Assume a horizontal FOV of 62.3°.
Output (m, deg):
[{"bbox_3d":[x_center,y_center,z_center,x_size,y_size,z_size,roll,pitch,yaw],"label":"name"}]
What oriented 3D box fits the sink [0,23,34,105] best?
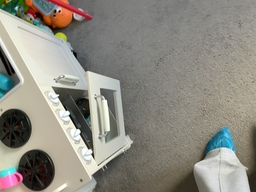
[{"bbox_3d":[-0.440,-0.100,0.690,0.180,0.060,0.220,-33,81,12],"label":"sink"}]
